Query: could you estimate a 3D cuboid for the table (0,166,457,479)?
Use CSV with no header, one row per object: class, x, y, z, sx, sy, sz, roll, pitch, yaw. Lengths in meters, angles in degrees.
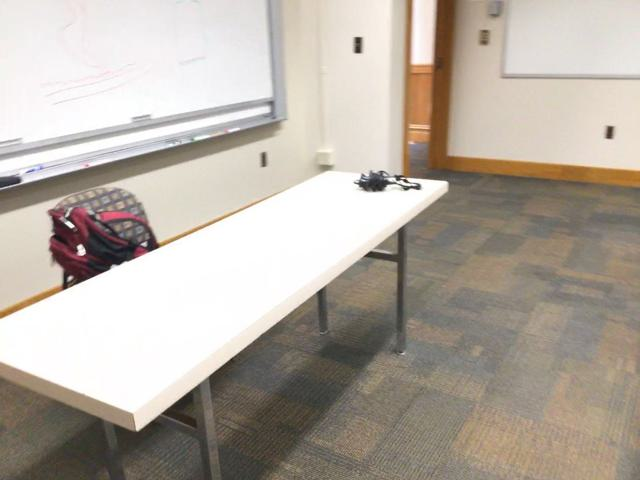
table,-0.130,0.290,1.980,0.630,0.660,1.760,8,24,30
